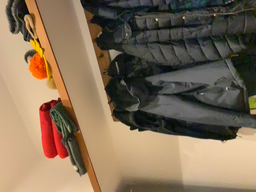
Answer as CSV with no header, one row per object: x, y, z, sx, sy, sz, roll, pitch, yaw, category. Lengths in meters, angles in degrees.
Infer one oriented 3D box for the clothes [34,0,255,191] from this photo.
0.210,-0.210,1.030,0.450,0.970,1.350,-61,-37,-57,clothes
